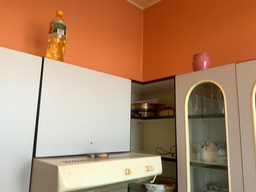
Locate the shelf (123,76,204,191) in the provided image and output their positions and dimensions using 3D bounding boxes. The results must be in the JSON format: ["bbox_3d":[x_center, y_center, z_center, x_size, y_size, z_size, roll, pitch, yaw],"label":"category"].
[{"bbox_3d":[0.210,0.260,1.310,0.270,0.670,0.390,10,-12,-41],"label":"shelf"}]

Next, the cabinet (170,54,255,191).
[{"bbox_3d":[0.530,0.200,0.930,0.310,0.670,0.610,10,-12,-41],"label":"cabinet"}]
